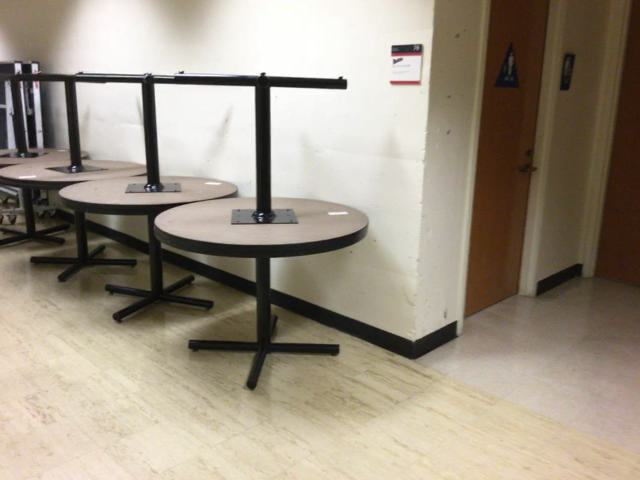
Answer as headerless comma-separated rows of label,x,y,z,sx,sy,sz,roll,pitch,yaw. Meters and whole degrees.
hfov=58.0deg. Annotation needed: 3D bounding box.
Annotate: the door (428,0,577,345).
door,1.070,-0.550,3.330,1.030,2.110,0.210,-11,18,-43
